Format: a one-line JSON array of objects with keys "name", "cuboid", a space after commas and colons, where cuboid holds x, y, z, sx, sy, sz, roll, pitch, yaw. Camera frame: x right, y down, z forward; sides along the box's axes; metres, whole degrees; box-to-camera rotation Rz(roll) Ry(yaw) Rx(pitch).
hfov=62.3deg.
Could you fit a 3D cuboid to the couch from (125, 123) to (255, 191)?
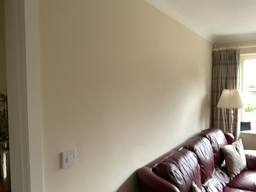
[{"name": "couch", "cuboid": [1.050, 0.950, 2.240, 1.060, 0.910, 2.230, 1, 3, 35]}]
